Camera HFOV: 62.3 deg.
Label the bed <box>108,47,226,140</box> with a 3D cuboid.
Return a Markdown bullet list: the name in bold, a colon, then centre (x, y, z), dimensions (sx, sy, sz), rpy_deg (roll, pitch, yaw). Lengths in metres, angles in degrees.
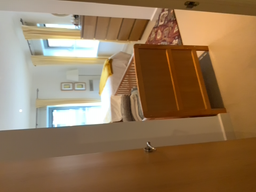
- **bed**: centre (0.330, 0.090, 2.850), dimensions (1.570, 0.870, 0.730), rpy_deg (129, 137, -66)

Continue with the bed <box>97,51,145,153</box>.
- **bed**: centre (-0.280, 0.230, 5.150), dimensions (1.560, 0.620, 2.070), rpy_deg (128, 138, -66)

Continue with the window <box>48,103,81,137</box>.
- **window**: centre (-1.820, 0.680, 6.070), dimensions (0.290, 0.860, 0.890), rpy_deg (123, 142, -64)
